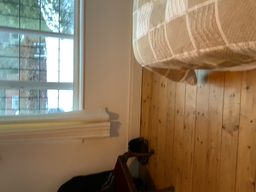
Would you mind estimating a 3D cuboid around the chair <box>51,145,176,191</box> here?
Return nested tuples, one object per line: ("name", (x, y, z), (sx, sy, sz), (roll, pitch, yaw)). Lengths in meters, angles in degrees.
("chair", (-0.180, 0.930, 2.130), (0.520, 1.050, 0.540), (-118, 38, -44))
